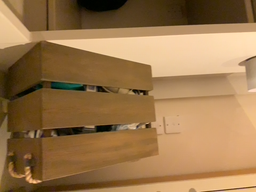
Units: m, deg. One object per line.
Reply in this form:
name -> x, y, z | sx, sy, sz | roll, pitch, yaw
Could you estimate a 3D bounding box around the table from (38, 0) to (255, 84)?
table -> 0.030, -0.560, 0.900 | 0.620, 0.890, 0.570 | -4, 173, -4
